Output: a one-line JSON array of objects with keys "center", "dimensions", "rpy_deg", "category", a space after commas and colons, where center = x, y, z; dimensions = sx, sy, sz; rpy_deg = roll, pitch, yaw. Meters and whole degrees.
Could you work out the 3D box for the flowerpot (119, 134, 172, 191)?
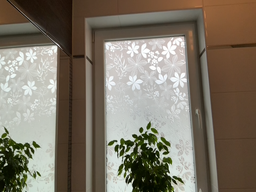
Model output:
[{"center": [0.110, 0.580, 1.440], "dimensions": [0.320, 0.610, 0.290], "rpy_deg": [-1, -9, 0], "category": "flowerpot"}]
